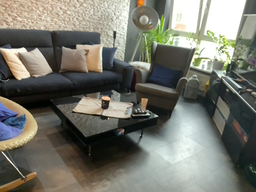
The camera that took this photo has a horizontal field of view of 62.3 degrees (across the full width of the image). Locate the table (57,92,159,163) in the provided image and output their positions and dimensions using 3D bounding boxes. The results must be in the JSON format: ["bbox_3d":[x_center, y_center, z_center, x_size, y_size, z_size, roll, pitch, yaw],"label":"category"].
[{"bbox_3d":[-0.250,0.310,2.640,0.990,0.360,0.740,-11,27,-38],"label":"table"}]

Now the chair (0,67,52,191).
[{"bbox_3d":[-1.260,0.320,1.670,0.980,0.820,1.000,-9,26,-35],"label":"chair"}]

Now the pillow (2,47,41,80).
[{"bbox_3d":[-1.510,-0.450,3.020,0.270,0.400,0.360,-11,-1,34],"label":"pillow"}]

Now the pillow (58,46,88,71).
[{"bbox_3d":[-0.910,-0.620,3.550,0.440,0.360,0.220,-6,6,-7],"label":"pillow"}]

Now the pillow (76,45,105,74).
[{"bbox_3d":[-0.640,-0.630,3.660,0.410,0.470,0.210,-7,8,-23],"label":"pillow"}]

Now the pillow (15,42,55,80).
[{"bbox_3d":[-1.400,-0.510,3.220,0.270,0.460,0.410,-13,-3,21],"label":"pillow"}]
